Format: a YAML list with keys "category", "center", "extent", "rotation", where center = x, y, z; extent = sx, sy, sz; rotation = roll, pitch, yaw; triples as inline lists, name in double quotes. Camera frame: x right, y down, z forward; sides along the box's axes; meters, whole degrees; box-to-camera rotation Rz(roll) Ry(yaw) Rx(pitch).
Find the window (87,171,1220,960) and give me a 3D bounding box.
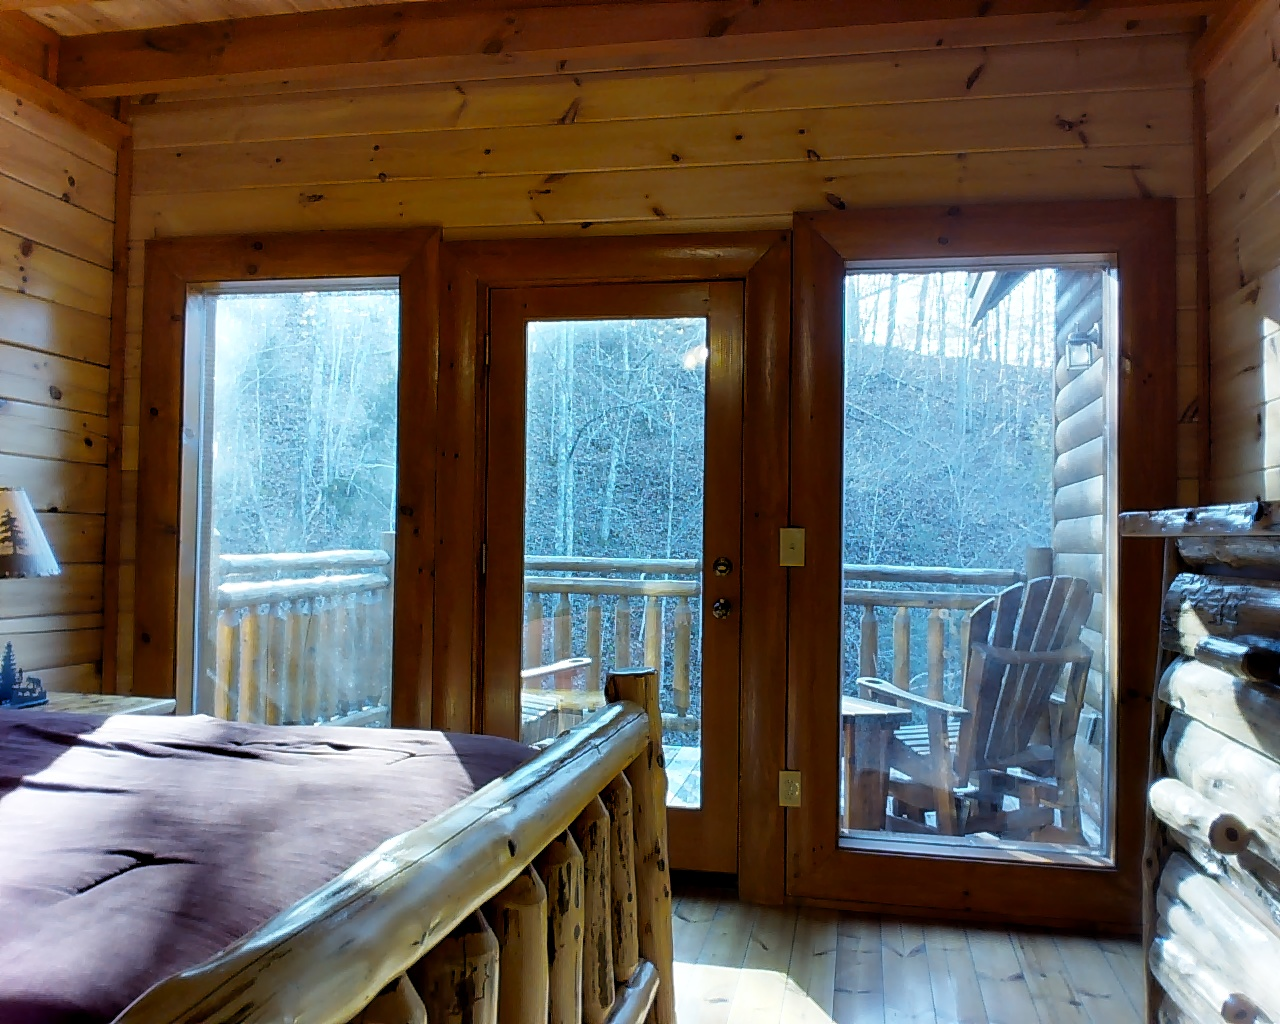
- category: "window"
  center: [-0.130, 0.100, 3.600]
  extent: [3.749, 2.341, 0.060]
  rotation: [2, -1, 11]
